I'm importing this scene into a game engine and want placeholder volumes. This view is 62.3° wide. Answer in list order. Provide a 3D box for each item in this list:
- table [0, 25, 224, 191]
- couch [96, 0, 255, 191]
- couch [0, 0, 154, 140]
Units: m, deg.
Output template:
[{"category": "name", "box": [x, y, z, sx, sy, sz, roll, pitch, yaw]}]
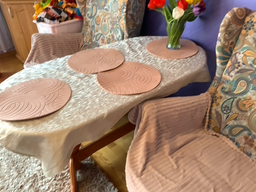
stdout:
[{"category": "table", "box": [-0.110, 0.090, 1.530, 1.410, 0.720, 0.750, -28, 44, -32]}, {"category": "couch", "box": [0.550, 0.230, 1.040, 1.000, 1.040, 0.870, -24, 42, -28]}, {"category": "couch", "box": [-0.450, -0.440, 1.990, 1.010, 1.030, 0.880, -28, 44, -32]}]
